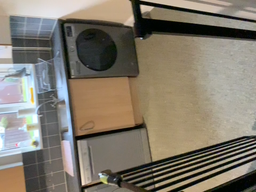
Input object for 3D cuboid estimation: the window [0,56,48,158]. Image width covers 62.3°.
[{"bbox_3d":[-1.560,0.120,2.480,0.120,1.060,1.180,-13,83,60],"label":"window"}]
